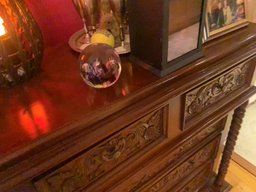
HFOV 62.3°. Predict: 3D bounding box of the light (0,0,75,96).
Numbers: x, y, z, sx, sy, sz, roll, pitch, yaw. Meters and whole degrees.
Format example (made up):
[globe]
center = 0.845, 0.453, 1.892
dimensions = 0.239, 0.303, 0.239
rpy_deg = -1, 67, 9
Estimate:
[light]
center = -0.310, -0.190, 0.500
dimensions = 0.240, 0.290, 0.210
rpy_deg = -25, 41, -24
